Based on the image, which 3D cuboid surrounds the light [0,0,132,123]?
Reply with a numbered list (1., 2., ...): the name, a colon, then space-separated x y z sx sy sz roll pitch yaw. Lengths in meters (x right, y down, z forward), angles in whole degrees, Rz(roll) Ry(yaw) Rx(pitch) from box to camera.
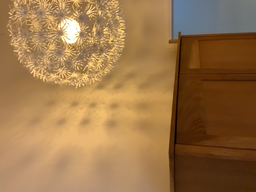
1. light: -1.040 -0.650 1.910 2.030 0.840 0.930 19 -146 42
